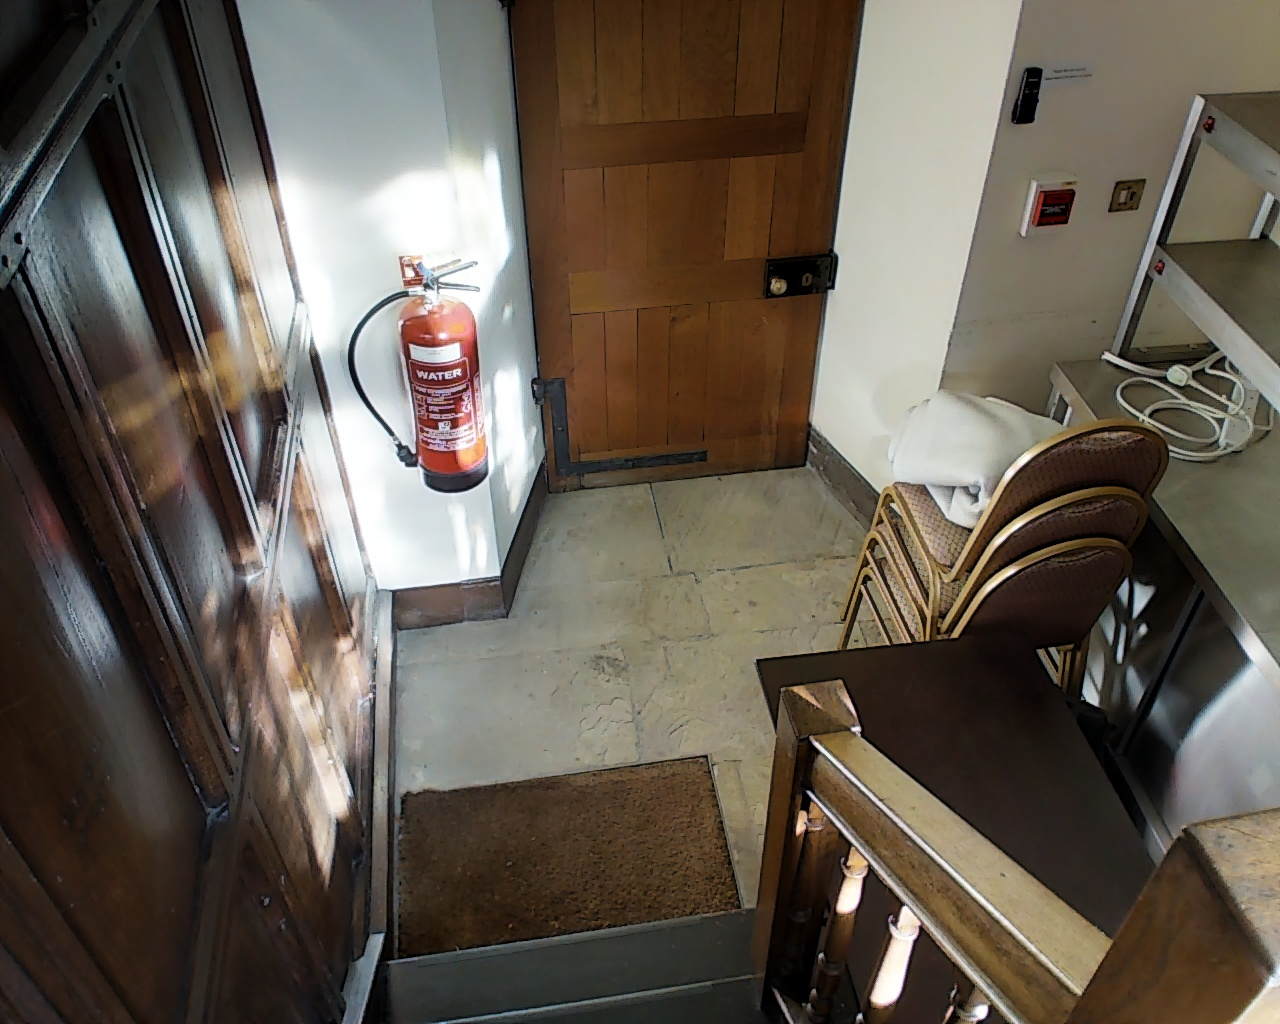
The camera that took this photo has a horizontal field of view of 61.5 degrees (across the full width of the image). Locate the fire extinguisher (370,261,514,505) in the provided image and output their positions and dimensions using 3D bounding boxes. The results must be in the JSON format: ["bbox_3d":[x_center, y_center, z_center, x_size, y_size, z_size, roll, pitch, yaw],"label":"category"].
[{"bbox_3d":[-0.480,-0.310,2.650,0.260,0.530,0.230,-10,43,-10],"label":"fire extinguisher"}]
